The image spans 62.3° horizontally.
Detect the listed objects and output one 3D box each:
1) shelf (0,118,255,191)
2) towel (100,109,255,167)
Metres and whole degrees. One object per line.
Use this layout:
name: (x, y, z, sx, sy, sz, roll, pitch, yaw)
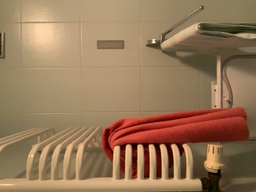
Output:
shelf: (0.020, 0.200, 0.860, 0.630, 1.080, 0.150, -154, 64, -89)
towel: (0.170, 0.130, 0.760, 0.280, 0.510, 0.150, -154, 64, -89)
